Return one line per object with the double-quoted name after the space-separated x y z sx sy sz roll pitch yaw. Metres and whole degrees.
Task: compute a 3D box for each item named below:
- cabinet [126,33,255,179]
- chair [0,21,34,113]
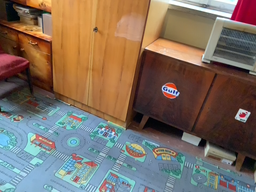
0.710 0.040 2.040 1.210 0.870 0.570 21 34 16 "cabinet"
-1.320 -0.320 2.110 0.560 0.730 0.380 24 35 20 "chair"
